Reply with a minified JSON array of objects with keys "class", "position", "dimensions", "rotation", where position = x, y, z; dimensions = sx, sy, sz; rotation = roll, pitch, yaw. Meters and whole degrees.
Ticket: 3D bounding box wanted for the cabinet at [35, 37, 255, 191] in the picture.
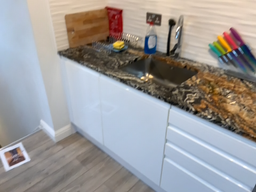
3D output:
[{"class":"cabinet","position":[0.030,0.180,1.710],"dimensions":[1.580,0.880,0.590],"rotation":[25,39,34]}]
